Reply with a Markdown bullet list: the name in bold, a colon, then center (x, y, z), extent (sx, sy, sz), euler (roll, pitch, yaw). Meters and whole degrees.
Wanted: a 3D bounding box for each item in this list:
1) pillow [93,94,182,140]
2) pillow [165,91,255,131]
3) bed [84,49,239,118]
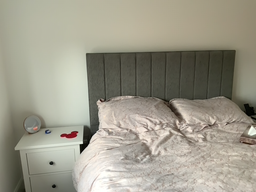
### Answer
- **pillow**: center (0.050, 0.160, 1.900), extent (0.700, 0.220, 0.470), euler (-3, 14, -10)
- **pillow**: center (0.780, 0.120, 2.040), extent (0.710, 0.210, 0.470), euler (-3, 14, -10)
- **bed**: center (0.370, -0.160, 2.180), extent (1.580, 0.610, 0.170), euler (-4, 14, -13)
